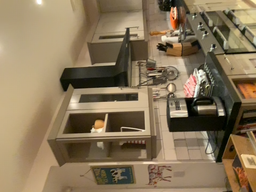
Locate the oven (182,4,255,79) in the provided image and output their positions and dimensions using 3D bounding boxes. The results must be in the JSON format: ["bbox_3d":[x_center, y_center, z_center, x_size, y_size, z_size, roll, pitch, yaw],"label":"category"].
[{"bbox_3d":[1.170,-0.640,2.500,0.510,0.920,0.650,-88,-6,-49],"label":"oven"}]

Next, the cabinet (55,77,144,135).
[{"bbox_3d":[-0.230,0.090,2.050,0.420,0.750,0.340,-88,-6,-49],"label":"cabinet"}]

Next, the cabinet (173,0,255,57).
[{"bbox_3d":[1.180,-1.070,3.010,0.820,0.920,0.640,-88,-6,-49],"label":"cabinet"}]

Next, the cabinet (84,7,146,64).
[{"bbox_3d":[-0.150,-0.980,3.290,1.180,0.800,0.340,-88,-6,-49],"label":"cabinet"}]
